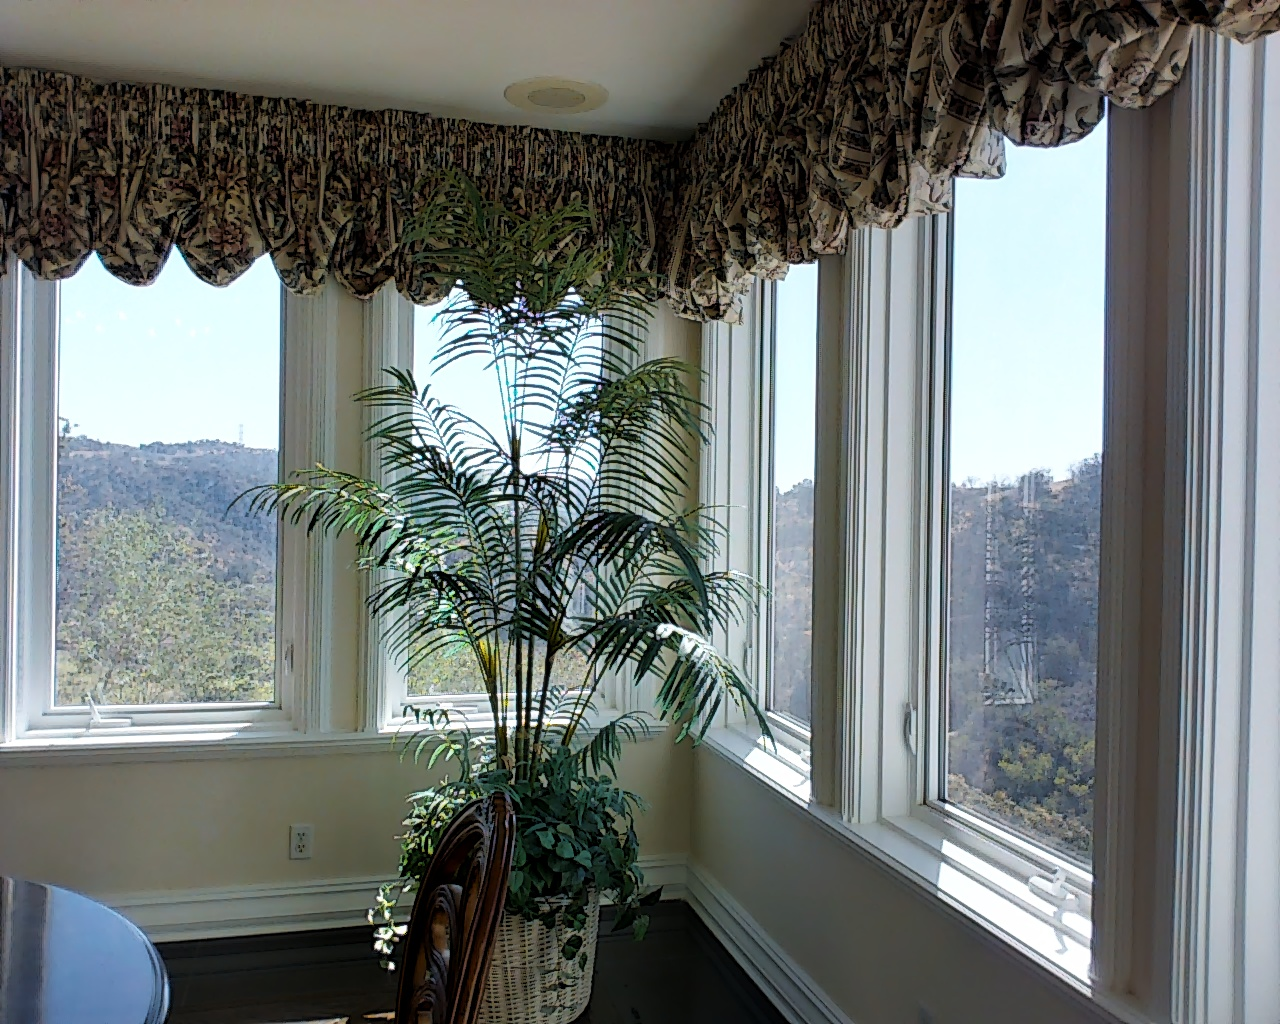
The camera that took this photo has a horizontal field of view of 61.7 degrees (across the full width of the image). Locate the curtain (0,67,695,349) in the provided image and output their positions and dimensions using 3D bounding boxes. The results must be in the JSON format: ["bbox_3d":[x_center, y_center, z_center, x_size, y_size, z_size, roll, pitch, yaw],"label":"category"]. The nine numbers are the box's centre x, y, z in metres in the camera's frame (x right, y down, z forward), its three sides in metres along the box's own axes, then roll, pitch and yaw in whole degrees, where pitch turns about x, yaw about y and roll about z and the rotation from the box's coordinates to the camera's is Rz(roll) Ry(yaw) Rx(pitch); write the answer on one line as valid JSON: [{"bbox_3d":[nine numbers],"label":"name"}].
[{"bbox_3d":[-2.090,-0.980,3.230,4.621,0.650,0.310,1,1,-15],"label":"curtain"}]

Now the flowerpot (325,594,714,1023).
[{"bbox_3d":[-0.320,0.860,3.020,0.730,1.160,0.780,2,1,34],"label":"flowerpot"}]

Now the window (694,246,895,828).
[{"bbox_3d":[0.430,0.060,3.280,0.190,1.510,0.990,1,1,-15],"label":"window"}]

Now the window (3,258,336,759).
[{"bbox_3d":[-1.510,0.000,3.510,0.950,1.540,0.200,1,1,-15],"label":"window"}]

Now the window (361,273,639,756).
[{"bbox_3d":[-0.490,0.020,3.760,0.910,1.600,0.190,1,1,-16],"label":"window"}]

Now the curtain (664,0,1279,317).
[{"bbox_3d":[0.770,-0.950,1.690,0.240,0.590,4.340,1,1,-15],"label":"curtain"}]
